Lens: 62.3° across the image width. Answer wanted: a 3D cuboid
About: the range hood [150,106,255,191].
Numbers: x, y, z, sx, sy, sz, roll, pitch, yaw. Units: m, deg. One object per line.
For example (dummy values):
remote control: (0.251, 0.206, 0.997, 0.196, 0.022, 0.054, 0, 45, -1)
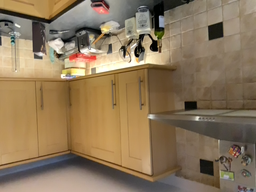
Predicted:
range hood: (0.500, 0.380, 1.110, 0.450, 0.620, 0.600, -2, 180, -43)
